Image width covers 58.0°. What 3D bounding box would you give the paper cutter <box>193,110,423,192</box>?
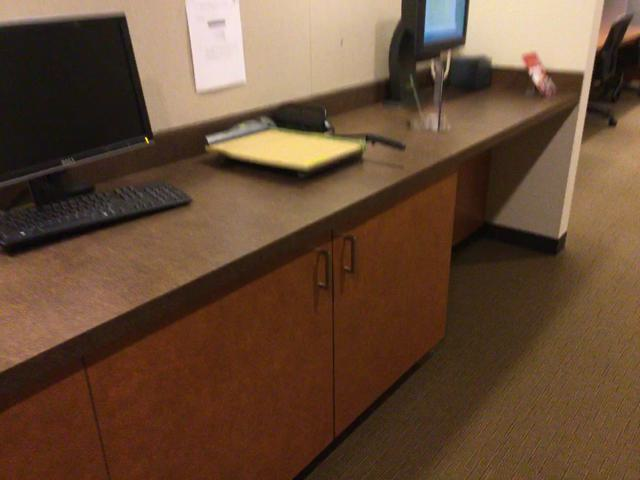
[{"bbox_3d":[-0.040,-0.290,1.750,0.570,0.110,0.390,17,24,34],"label":"paper cutter"}]
